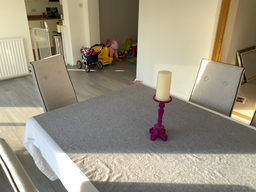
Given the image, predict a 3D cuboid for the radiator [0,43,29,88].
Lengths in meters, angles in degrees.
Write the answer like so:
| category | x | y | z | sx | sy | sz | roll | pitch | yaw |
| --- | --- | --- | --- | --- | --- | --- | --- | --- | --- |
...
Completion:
| category | x | y | z | sx | sy | sz | roll | pitch | yaw |
| --- | --- | --- | --- | --- | --- | --- | --- | --- | --- |
| radiator | -2.360 | -0.570 | 4.050 | 0.740 | 0.770 | 0.090 | -20 | 33 | -38 |
